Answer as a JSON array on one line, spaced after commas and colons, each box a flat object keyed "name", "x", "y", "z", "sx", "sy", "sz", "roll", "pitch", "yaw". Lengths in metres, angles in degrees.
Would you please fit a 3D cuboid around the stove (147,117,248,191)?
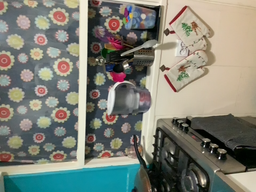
[{"name": "stove", "x": 0.300, "y": 0.500, "z": 1.160, "sx": 0.590, "sy": 0.150, "sz": 0.600, "roll": -137, "pitch": 50, "yaw": -69}]
